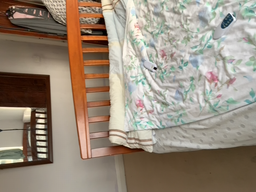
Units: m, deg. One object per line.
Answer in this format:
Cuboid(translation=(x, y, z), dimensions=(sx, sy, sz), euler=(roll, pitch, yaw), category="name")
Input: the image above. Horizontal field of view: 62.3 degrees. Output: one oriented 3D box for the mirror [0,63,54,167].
Cuboid(translation=(-1.610, 0.210, 2.890), dimensions=(0.060, 1.100, 1.440), euler=(137, 129, -56), category="mirror")
